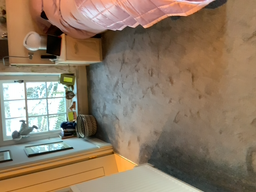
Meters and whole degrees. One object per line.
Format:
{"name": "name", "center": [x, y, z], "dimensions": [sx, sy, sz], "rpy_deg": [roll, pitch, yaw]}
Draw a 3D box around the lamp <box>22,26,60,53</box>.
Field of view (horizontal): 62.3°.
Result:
{"name": "lamp", "center": [-1.140, -0.730, 2.780], "dimensions": [0.240, 0.400, 0.270], "rpy_deg": [4, 97, 57]}
